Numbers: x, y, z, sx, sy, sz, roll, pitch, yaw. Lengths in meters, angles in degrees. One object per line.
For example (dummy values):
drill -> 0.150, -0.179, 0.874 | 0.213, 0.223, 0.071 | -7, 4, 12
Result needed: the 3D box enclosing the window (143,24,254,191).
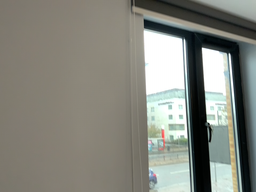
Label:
window -> 0.540, 0.230, 1.520 | 0.940, 1.300, 0.120 | 4, -9, -31
